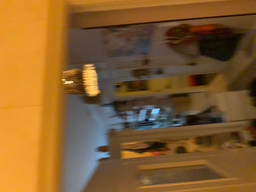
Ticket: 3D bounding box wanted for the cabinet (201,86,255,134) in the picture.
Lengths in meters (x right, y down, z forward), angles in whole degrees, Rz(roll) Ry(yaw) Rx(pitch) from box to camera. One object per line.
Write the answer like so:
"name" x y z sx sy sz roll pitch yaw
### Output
"cabinet" 1.570 0.220 3.110 0.630 0.730 0.440 87 177 -64
